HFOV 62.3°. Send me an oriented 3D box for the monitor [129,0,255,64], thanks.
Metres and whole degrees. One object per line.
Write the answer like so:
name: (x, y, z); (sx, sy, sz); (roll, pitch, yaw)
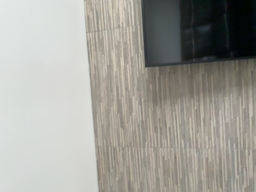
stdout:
monitor: (0.480, -0.930, 1.190); (0.080, 0.870, 1.450); (-14, -71, -73)
